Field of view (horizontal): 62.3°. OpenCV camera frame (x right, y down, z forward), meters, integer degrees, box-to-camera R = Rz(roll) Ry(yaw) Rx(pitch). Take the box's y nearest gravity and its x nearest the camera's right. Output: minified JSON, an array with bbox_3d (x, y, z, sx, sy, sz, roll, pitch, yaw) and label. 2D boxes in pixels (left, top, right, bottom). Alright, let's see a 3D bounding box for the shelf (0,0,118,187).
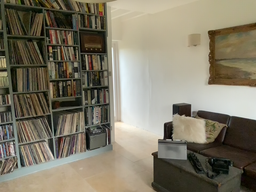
[{"bbox_3d":[-1.180,-0.220,3.120,2.090,2.630,0.350,-7,10,-34],"label":"shelf"}]
